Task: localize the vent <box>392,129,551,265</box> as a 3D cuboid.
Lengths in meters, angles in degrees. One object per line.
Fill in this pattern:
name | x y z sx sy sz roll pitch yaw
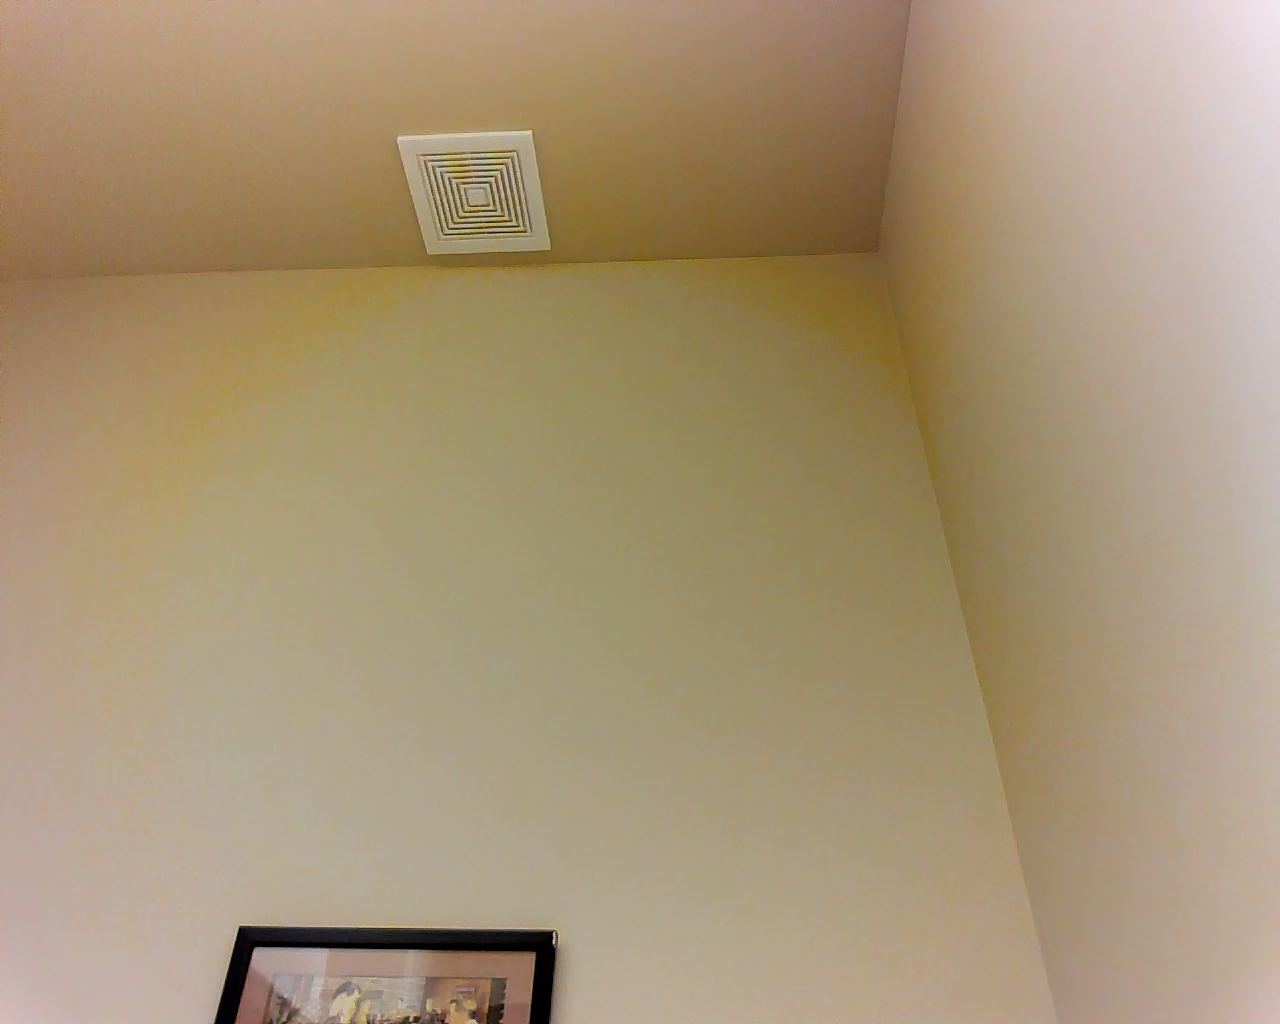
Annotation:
vent | -0.280 -0.530 1.820 0.230 0.020 0.250 -1 -40 2
